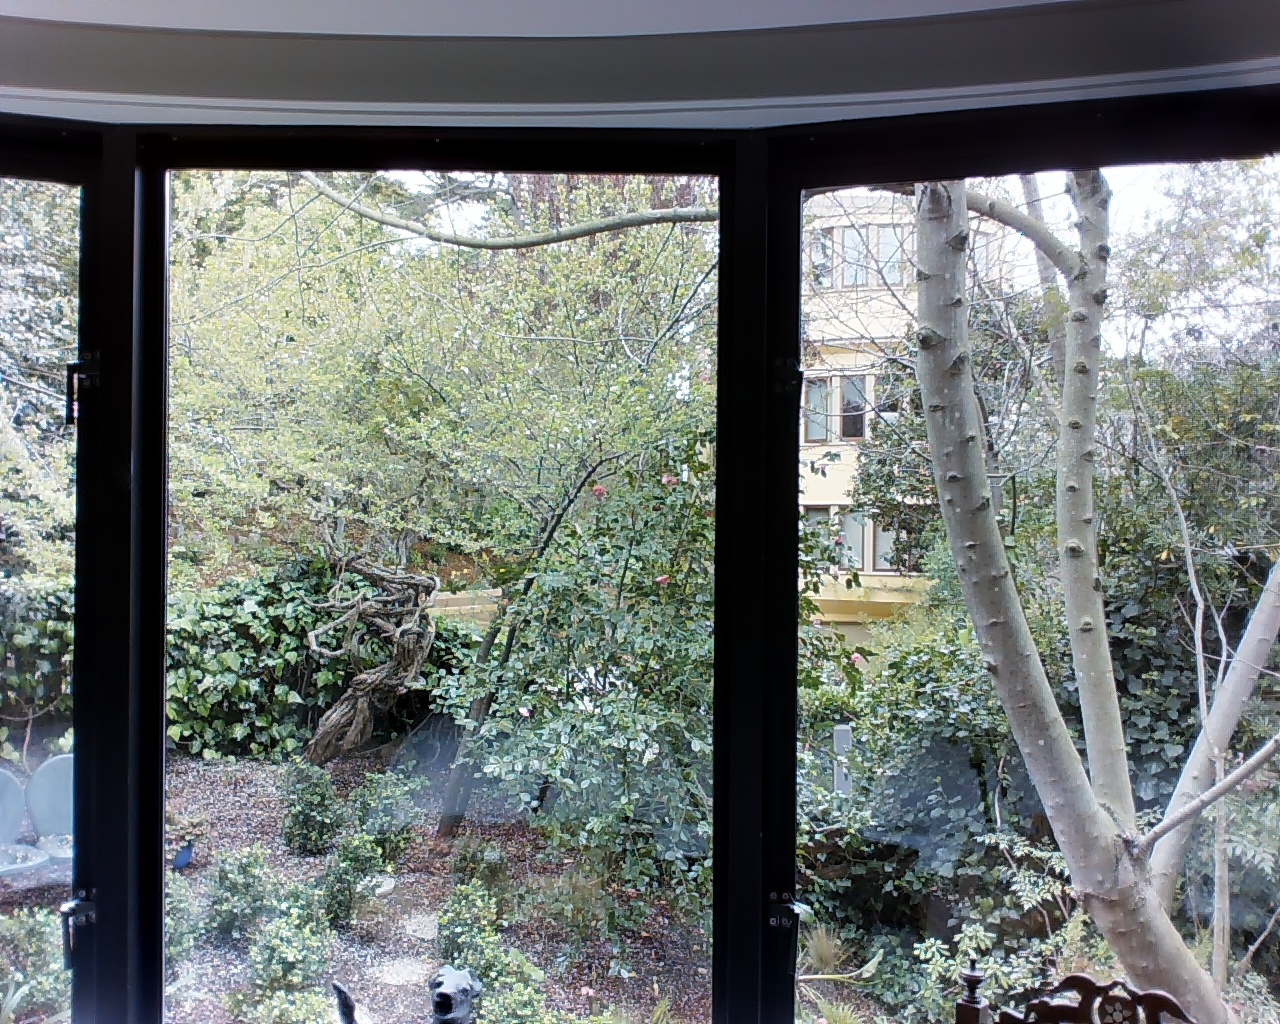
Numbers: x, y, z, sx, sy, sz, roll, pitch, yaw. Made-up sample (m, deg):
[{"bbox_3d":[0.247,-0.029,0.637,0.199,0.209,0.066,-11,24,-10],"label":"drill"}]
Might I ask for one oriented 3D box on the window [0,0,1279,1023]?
[{"bbox_3d":[-0.300,0.160,1.400,2.760,1.700,0.490,0,0,-1],"label":"window"}]
